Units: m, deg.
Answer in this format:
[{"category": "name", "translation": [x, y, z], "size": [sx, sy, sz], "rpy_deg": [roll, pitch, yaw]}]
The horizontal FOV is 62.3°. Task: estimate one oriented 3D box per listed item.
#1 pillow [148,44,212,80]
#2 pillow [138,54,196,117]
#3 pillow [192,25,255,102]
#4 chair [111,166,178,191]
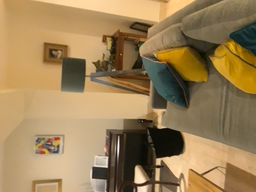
[{"category": "pillow", "translation": [0.430, -0.300, 1.840], "size": [0.140, 0.320, 0.450], "rpy_deg": [-64, 24, 0]}, {"category": "pillow", "translation": [0.360, -0.120, 2.040], "size": [0.140, 0.500, 0.510], "rpy_deg": [-33, 25, -8]}, {"category": "pillow", "translation": [0.630, -0.210, 1.280], "size": [0.110, 0.400, 0.480], "rpy_deg": [-33, 25, -4]}, {"category": "chair", "translation": [0.210, 1.280, 2.970], "size": [0.550, 0.780, 0.400], "rpy_deg": [178, 95, -71]}]
